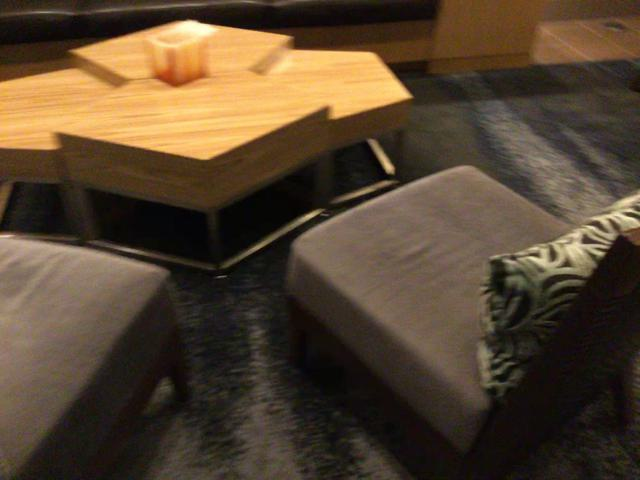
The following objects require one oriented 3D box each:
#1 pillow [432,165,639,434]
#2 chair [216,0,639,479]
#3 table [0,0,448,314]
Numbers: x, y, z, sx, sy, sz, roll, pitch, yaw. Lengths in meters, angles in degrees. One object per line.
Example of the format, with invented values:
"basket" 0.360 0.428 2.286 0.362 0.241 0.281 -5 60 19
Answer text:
"pillow" 0.500 0.080 1.050 0.500 0.230 0.270 -18 42 -18
"chair" 0.360 0.060 1.270 0.710 0.860 0.870 -27 45 -26
"table" -0.510 -0.420 2.210 1.600 0.500 1.220 -8 40 -6
